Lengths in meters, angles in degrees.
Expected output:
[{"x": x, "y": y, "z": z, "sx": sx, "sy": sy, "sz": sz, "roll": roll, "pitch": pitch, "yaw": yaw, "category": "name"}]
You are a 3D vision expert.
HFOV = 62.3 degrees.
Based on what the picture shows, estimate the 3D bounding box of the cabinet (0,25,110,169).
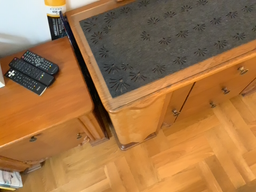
[{"x": -0.420, "y": 0.060, "z": 1.100, "sx": 0.480, "sy": 0.580, "sz": 0.400, "roll": -23, "pitch": 68, "yaw": -8, "category": "cabinet"}]
